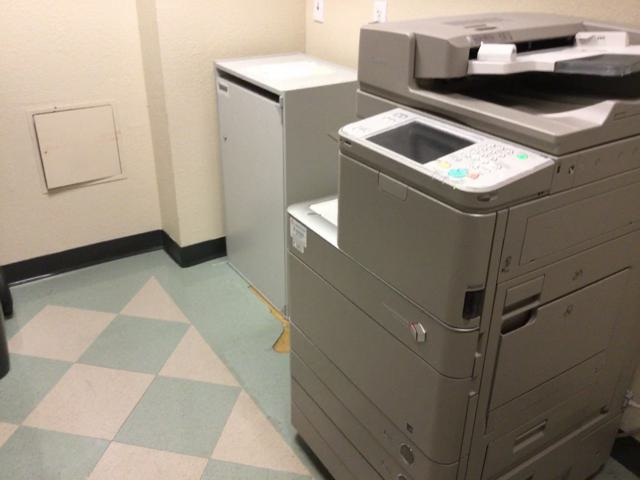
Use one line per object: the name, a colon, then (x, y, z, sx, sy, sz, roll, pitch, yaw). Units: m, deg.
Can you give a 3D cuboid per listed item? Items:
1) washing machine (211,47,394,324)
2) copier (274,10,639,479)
washing machine: (-0.100, -0.250, 2.320, 0.430, 0.910, 0.590, -14, 30, -30)
copier: (0.380, 0.110, 1.410, 0.720, 1.190, 0.720, -14, 30, -30)
